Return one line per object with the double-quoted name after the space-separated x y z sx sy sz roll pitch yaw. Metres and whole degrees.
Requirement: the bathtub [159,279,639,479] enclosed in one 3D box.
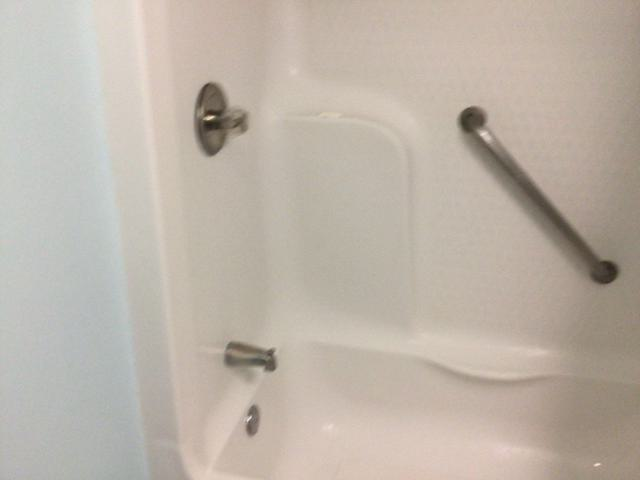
0.420 0.600 1.540 1.370 0.550 0.810 6 22 13 "bathtub"
